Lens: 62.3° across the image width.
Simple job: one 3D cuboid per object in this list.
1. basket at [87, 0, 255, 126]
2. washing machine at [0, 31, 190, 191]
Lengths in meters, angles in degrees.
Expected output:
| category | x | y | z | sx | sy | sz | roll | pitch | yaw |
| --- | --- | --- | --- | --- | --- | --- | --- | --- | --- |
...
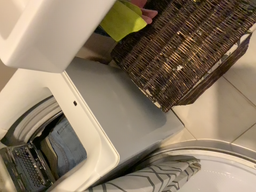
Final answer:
| category | x | y | z | sx | sy | sz | roll | pitch | yaw |
| --- | --- | --- | --- | --- | --- | --- | --- | --- | --- |
| basket | 0.240 | -0.240 | 0.980 | 0.480 | 0.460 | 0.520 | 48 | 109 | 20 |
| washing machine | -0.140 | 0.160 | 0.970 | 0.520 | 0.840 | 0.420 | -43 | 71 | 20 |
